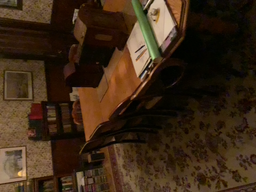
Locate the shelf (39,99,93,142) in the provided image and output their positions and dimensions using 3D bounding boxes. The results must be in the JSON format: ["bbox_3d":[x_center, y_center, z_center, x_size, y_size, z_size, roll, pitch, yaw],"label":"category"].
[{"bbox_3d":[-1.510,0.550,5.090,0.380,1.110,0.880,-52,46,50],"label":"shelf"}]
